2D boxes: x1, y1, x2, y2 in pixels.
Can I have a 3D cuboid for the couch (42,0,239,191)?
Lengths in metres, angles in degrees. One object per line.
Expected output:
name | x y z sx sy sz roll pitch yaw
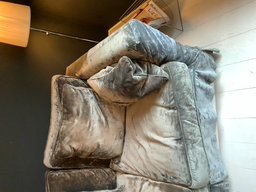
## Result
couch | -0.030 0.500 1.460 1.160 0.800 1.710 -13 77 54
